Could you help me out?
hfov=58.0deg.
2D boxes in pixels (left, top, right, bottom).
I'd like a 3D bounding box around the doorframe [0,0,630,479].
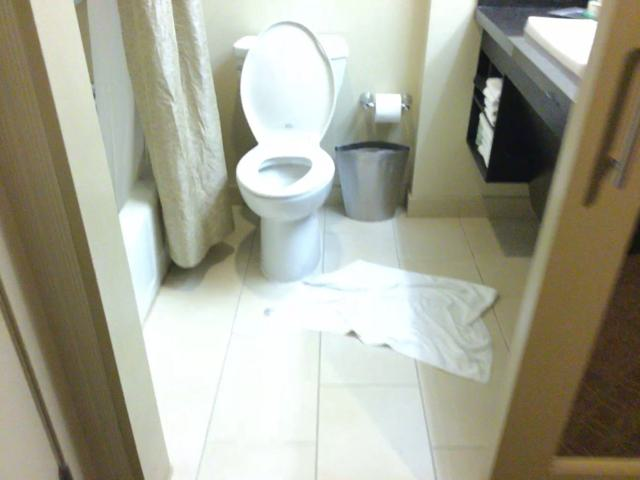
[{"bbox_3d":[-0.050,-0.040,1.010,0.910,1.510,0.160,1,31,5],"label":"doorframe"}]
